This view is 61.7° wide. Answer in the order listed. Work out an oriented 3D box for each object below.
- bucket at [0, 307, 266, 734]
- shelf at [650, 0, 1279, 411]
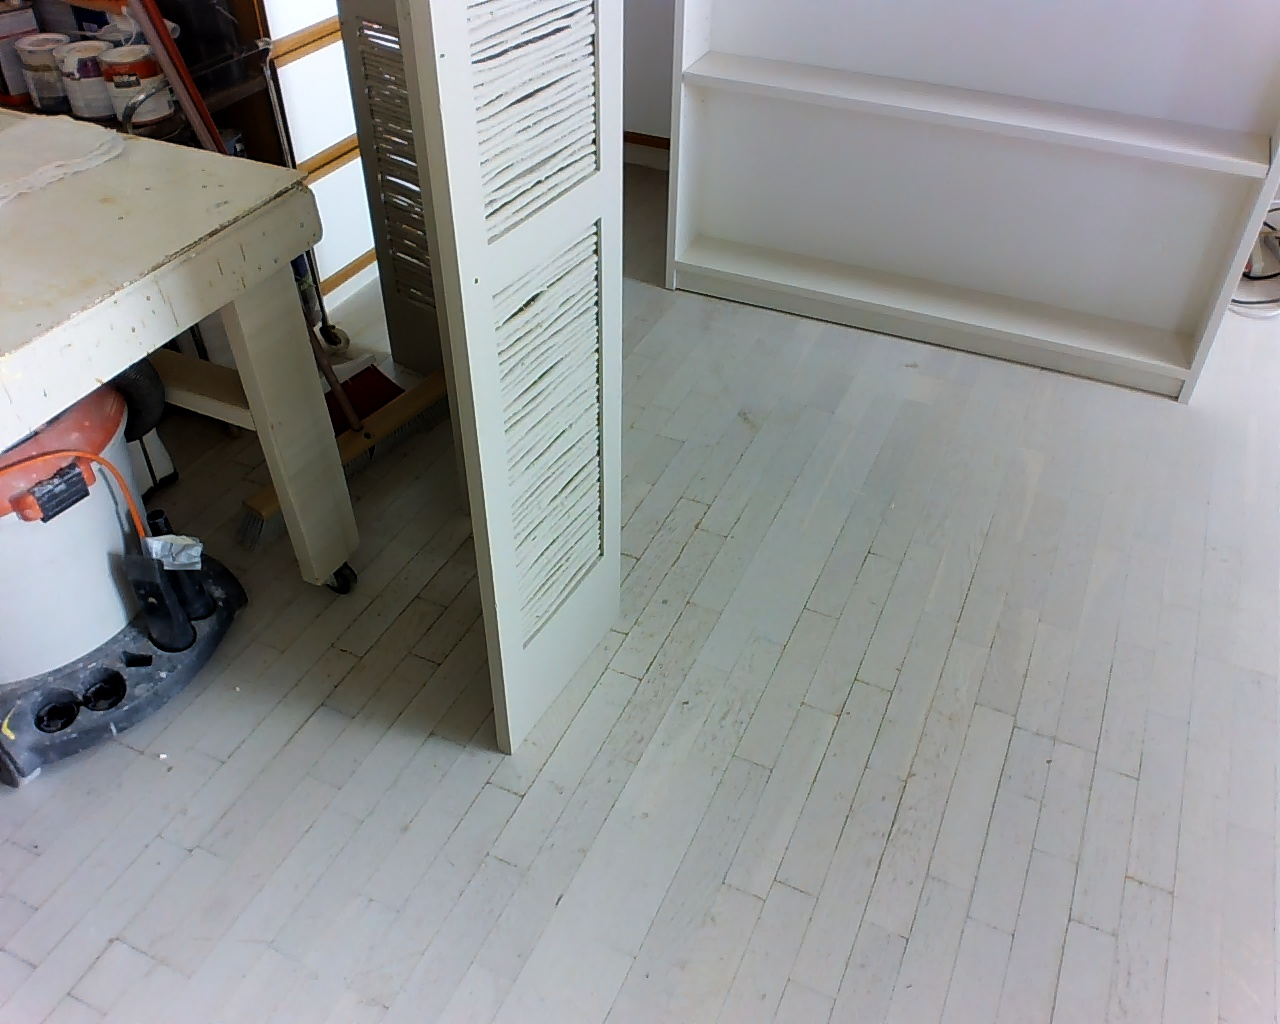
[{"bbox_3d":[-1.000,0.040,1.660,0.330,0.410,0.650,29,48,30],"label":"bucket"},{"bbox_3d":[0.740,-1.300,2.190,1.450,2.070,0.230,17,43,19],"label":"shelf"}]
